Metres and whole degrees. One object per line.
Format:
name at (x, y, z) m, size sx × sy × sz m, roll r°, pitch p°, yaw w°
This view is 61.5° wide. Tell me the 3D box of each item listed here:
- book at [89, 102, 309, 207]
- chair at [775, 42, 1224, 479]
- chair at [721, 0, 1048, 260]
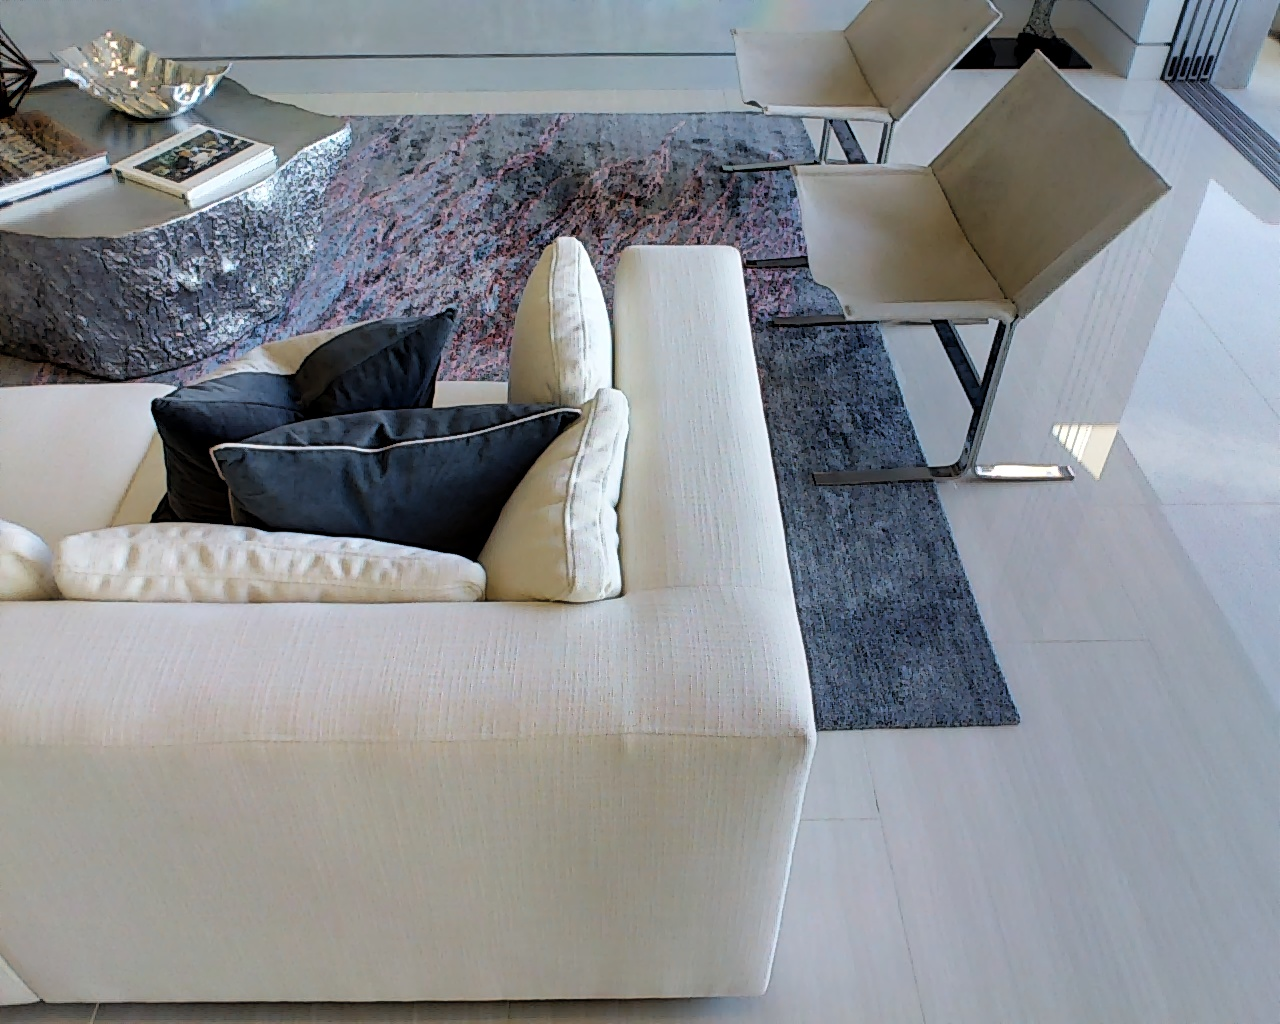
book at (-1.080, -0.890, 2.650) m, size 0.320 × 0.050 × 0.390 m, roll 25°, pitch 47°, yaw 25°
chair at (0.720, -0.590, 2.470) m, size 0.670 × 0.690 × 0.760 m, roll -1°, pitch 42°, yaw -1°
chair at (0.650, -1.250, 3.190) m, size 0.700 × 0.680 × 0.760 m, roll -2°, pitch 42°, yaw -3°
